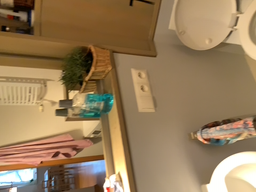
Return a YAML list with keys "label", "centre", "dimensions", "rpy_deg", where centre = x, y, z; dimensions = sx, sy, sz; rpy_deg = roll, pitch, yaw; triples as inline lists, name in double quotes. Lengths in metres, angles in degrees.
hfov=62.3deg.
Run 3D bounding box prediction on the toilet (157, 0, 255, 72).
- label: "toilet"
  centre: [0.670, -0.370, 1.110]
  dimensions: [0.490, 0.830, 0.400]
  rpy_deg: [43, 126, 57]
